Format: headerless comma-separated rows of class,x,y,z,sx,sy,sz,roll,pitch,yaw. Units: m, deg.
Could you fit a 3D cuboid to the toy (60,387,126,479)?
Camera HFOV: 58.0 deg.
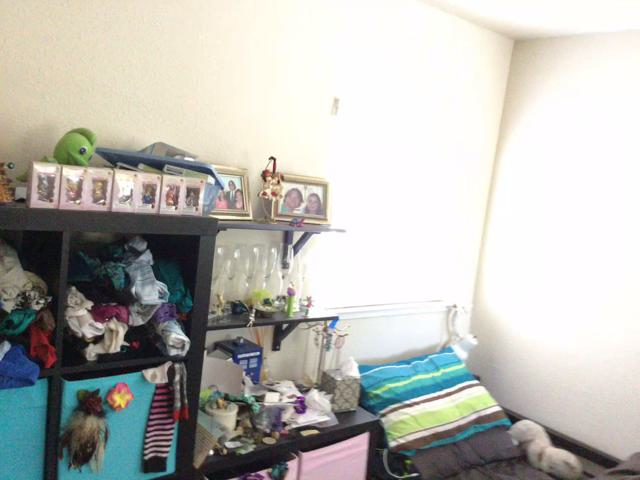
toy,-0.570,0.490,1.450,0.120,0.210,0.080,4,2,-40

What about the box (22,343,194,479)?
box,-0.610,0.500,1.640,0.320,0.310,0.400,4,2,-40
